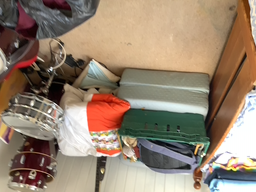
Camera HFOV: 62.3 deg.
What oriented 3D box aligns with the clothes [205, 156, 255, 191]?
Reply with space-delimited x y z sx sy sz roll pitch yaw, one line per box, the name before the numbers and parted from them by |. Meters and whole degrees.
clothes | 0.770 0.600 1.470 0.380 0.180 0.420 3 144 12
